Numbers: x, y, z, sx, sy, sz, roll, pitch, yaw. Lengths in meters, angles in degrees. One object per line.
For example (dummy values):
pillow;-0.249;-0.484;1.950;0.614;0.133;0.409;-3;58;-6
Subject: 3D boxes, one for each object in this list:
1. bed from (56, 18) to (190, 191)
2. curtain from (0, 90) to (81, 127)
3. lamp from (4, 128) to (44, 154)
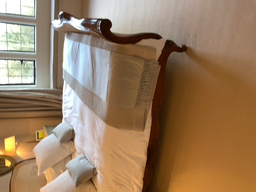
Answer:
bed;-0.380;0.320;2.800;1.980;0.690;2.470;32;121;56
curtain;-2.140;0.230;4.290;0.420;2.290;0.580;29;117;56
lamp;-1.990;0.850;4.070;0.250;0.660;0.300;31;119;55
